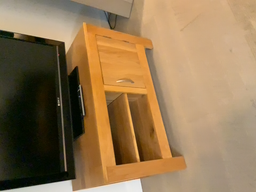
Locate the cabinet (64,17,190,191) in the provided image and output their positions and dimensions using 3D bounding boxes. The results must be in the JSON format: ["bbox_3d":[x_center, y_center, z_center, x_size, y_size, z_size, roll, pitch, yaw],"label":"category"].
[{"bbox_3d":[-0.070,0.060,1.580,0.460,0.600,1.070,-38,56,48],"label":"cabinet"}]

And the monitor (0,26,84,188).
[{"bbox_3d":[-0.640,0.020,1.320,0.070,0.650,0.990,-36,57,49],"label":"monitor"}]
